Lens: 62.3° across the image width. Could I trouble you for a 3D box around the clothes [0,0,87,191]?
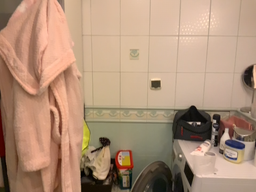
[{"bbox_3d":[-0.470,0.110,1.030,0.470,1.140,0.340,1,11,-2],"label":"clothes"}]
